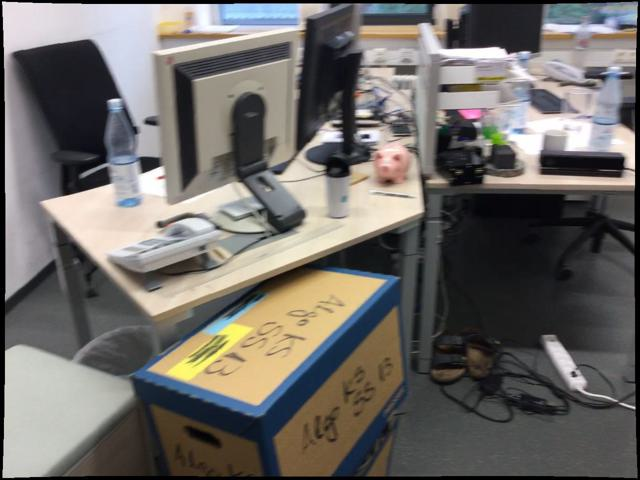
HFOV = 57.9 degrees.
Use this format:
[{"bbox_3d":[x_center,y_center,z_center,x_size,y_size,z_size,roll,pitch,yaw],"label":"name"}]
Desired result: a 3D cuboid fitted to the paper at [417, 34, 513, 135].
[{"bbox_3d":[0.440,-0.501,1.830,0.250,0.230,0.370,2,28,8],"label":"paper"}]
